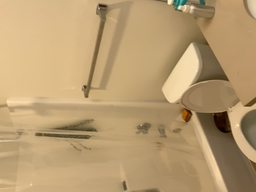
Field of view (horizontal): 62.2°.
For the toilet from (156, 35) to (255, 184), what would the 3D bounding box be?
[{"bbox_3d":[0.710,0.080,1.360,0.480,0.780,0.720,115,149,-49],"label":"toilet"}]
